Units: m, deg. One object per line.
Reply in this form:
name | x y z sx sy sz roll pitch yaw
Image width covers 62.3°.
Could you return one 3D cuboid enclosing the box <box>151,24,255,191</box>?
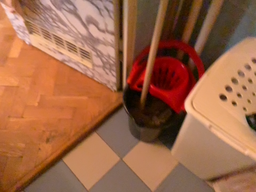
box | 0.390 0.110 0.830 0.340 0.510 0.430 40 65 20
